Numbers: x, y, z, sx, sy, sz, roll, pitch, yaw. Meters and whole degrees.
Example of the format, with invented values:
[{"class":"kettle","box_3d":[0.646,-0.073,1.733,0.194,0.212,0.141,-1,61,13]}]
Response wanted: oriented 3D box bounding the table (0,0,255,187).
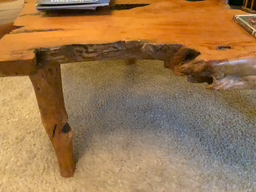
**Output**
[{"class":"table","box_3d":[0.190,-0.150,0.890,1.300,0.480,0.830,1,40,4]}]
